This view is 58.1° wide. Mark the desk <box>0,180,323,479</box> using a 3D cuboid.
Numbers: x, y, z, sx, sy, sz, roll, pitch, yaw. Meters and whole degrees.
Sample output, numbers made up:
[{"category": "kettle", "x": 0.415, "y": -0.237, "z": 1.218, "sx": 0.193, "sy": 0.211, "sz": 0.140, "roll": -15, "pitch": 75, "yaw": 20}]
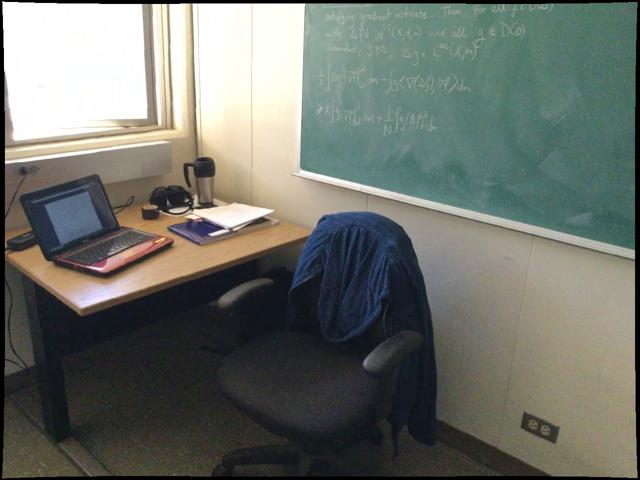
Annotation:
[{"category": "desk", "x": -0.628, "y": 0.301, "z": 2.270, "sx": 0.839, "sy": 0.772, "sz": 0.979, "roll": 17, "pitch": 26, "yaw": 38}]

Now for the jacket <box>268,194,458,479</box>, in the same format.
[{"category": "jacket", "x": 0.120, "y": 0.311, "z": 1.930, "sx": 0.539, "sy": 0.802, "sz": 0.270, "roll": 17, "pitch": 26, "yaw": 39}]

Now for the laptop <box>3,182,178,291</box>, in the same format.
[{"category": "laptop", "x": -0.768, "y": -0.030, "z": 1.960, "sx": 0.409, "sy": 0.210, "sz": 0.350, "roll": 11, "pitch": 23, "yaw": 27}]
